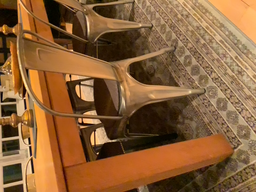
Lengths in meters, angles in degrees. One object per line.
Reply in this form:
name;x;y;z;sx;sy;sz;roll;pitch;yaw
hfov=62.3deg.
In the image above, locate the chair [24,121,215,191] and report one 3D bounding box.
chair;-0.060;0.610;1.150;0.640;0.850;0.550;63;145;35
